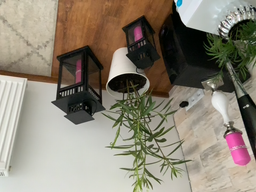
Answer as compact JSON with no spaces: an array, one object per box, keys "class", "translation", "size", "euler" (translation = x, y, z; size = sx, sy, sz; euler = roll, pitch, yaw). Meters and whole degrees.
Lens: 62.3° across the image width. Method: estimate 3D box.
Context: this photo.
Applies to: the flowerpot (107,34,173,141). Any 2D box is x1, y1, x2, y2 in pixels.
[{"class":"flowerpot","translation":[0.040,-0.050,1.400],"size":[0.230,0.560,0.380],"euler":[9,144,-22]}]
